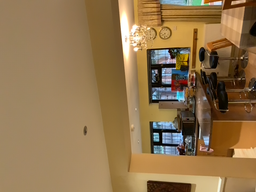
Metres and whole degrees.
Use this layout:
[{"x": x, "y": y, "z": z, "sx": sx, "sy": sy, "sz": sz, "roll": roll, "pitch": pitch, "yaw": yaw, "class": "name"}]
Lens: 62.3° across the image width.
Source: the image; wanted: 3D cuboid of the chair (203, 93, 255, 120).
[{"x": 1.910, "y": 0.200, "z": 4.050, "sx": 0.330, "sy": 0.820, "sz": 0.380, "roll": -75, "pitch": -18, "yaw": -59, "class": "chair"}]
